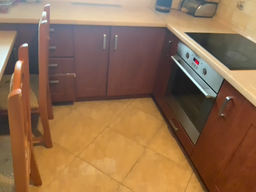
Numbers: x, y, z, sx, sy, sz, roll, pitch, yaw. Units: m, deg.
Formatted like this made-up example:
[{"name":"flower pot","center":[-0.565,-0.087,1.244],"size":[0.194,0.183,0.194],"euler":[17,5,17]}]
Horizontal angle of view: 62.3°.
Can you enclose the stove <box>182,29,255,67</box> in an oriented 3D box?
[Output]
[{"name":"stove","center":[0.750,-0.360,1.510],"size":[0.520,0.010,0.600],"euler":[-3,37,-15]}]

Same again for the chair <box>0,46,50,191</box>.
[{"name":"chair","center":[-0.670,0.310,0.970],"size":[0.500,0.970,0.400],"euler":[-4,38,-17]}]
